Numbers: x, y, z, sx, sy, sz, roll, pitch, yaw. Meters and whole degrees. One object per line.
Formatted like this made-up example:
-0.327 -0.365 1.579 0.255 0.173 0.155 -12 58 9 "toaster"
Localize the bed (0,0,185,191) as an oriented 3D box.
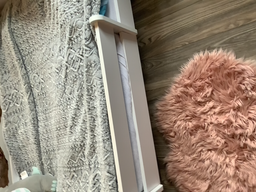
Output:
-0.250 0.150 1.260 0.880 0.450 1.730 -13 84 35 "bed"
